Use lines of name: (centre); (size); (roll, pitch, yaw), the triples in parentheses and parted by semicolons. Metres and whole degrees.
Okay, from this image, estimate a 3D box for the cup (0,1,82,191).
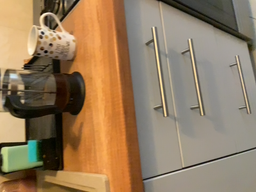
cup: (-0.310, 0.050, 0.620); (0.410, 0.150, 0.430); (-17, 75, 49)
